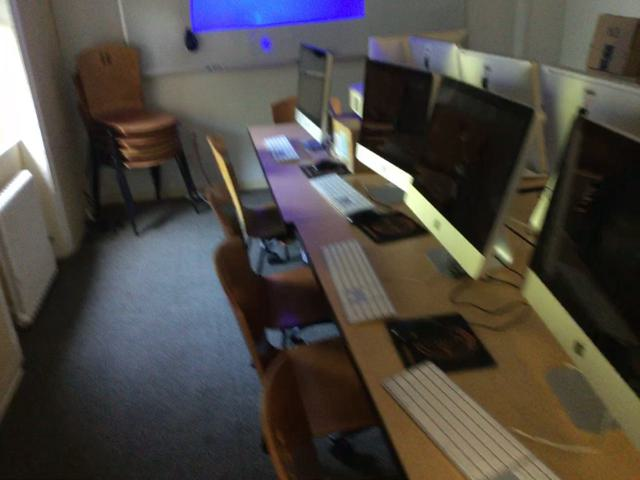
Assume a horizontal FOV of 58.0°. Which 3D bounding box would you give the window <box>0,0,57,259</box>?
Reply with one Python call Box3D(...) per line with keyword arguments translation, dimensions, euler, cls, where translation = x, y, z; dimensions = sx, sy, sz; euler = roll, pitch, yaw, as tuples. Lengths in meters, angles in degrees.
Box3D(translation=(-1.410, -0.630, 2.390), dimensions=(0.160, 1.060, 1.180), euler=(-9, 25, -11), cls="window")
